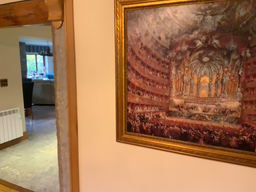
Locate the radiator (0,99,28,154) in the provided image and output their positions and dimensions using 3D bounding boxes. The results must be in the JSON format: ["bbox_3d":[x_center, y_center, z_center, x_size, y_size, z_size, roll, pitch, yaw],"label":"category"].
[{"bbox_3d":[-2.290,0.560,3.870,0.230,0.860,0.860,5,10,21],"label":"radiator"}]
